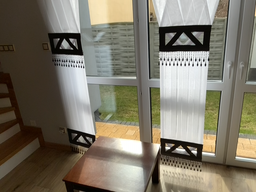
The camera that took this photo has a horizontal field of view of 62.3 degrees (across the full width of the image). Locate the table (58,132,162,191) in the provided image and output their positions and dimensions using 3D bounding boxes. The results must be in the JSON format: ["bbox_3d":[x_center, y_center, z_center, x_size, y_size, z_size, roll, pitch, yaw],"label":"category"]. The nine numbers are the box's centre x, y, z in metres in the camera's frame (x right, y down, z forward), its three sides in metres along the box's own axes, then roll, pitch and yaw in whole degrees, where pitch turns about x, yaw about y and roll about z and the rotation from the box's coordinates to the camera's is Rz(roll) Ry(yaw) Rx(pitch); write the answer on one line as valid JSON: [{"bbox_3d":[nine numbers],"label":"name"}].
[{"bbox_3d":[-0.100,0.730,1.930,0.680,0.410,0.700,4,23,19],"label":"table"}]
